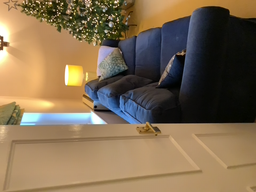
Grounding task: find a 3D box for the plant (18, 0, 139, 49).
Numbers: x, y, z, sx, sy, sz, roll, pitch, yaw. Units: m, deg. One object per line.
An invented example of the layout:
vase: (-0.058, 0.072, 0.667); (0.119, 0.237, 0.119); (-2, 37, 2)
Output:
plant: (-0.770, -1.320, 3.370); (0.800, 1.660, 0.840); (-162, 77, -65)
